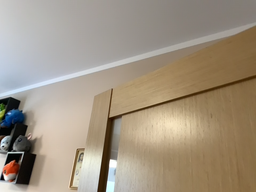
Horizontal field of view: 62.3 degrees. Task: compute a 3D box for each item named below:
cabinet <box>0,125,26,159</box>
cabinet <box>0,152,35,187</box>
[{"bbox_3d":[-1.120,0.430,1.980,0.250,0.280,0.120,-11,-29,31],"label":"cabinet"},{"bbox_3d":[-0.930,0.600,1.730,0.240,0.240,0.150,-11,-29,31],"label":"cabinet"}]
